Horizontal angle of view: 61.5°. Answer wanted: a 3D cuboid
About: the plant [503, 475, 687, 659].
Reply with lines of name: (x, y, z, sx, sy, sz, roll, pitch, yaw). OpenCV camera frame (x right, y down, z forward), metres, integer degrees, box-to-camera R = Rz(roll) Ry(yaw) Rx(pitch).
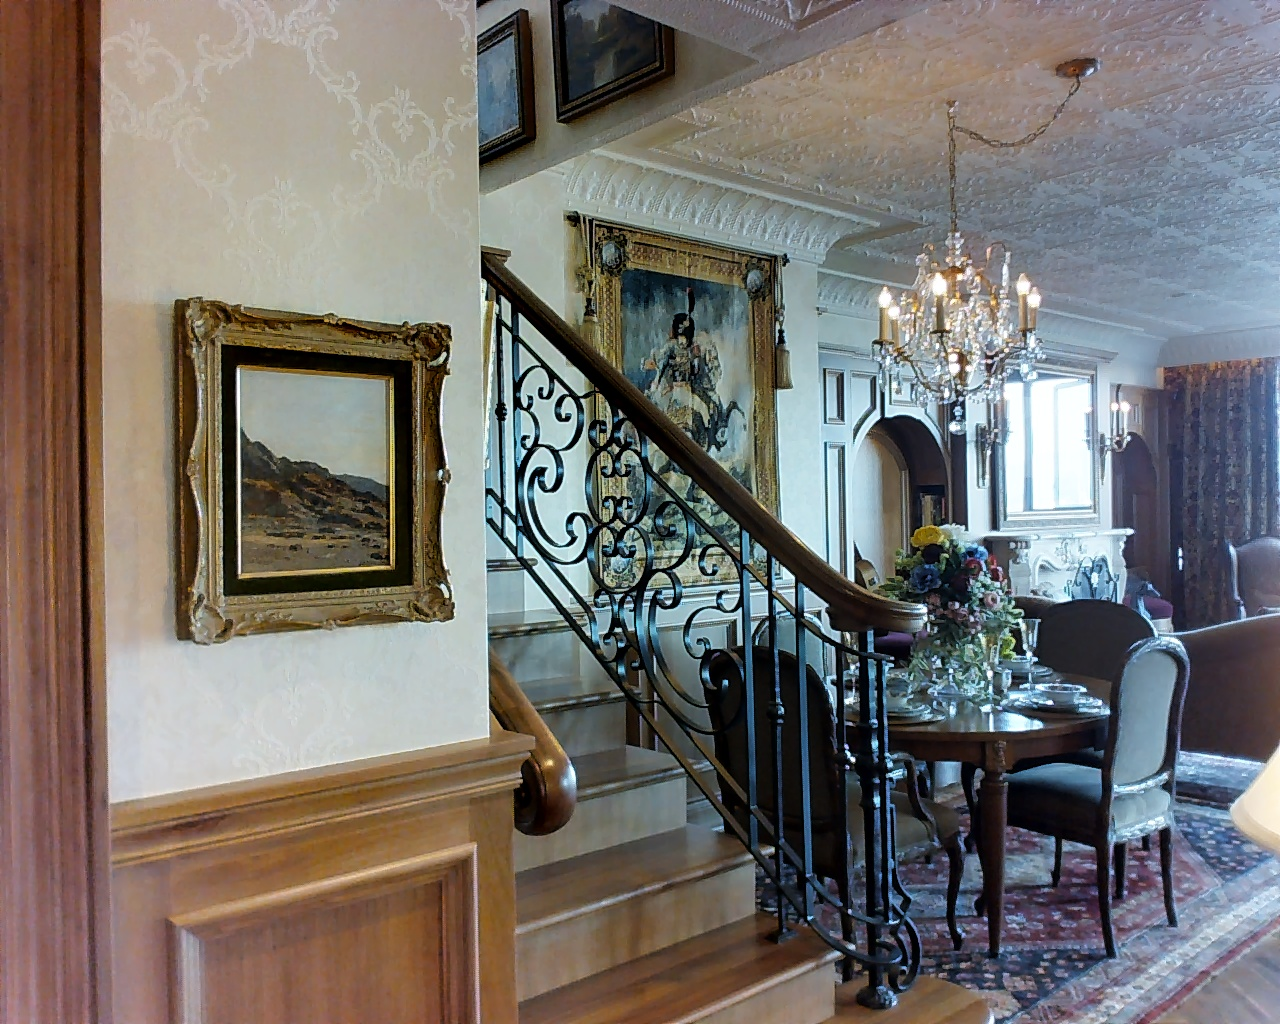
plant: (-0.190, 0.190, 4.080, 0.550, 0.630, 0.620, -1, 0, -17)

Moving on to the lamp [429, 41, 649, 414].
lamp: (-0.350, -0.960, 3.860, 0.730, 1.160, 0.300, -1, 0, -41)

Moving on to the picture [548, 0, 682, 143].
picture: (-0.080, -1.280, 2.950, 0.050, 0.390, 0.500, -1, 0, -41)
